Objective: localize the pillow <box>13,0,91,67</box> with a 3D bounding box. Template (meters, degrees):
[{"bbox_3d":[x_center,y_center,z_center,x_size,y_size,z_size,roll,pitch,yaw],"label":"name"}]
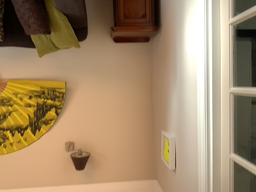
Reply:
[{"bbox_3d":[-0.660,-0.560,1.800,0.560,0.440,0.220,26,-179,34],"label":"pillow"}]

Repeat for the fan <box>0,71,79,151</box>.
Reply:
[{"bbox_3d":[-1.350,0.160,2.130,1.640,0.780,0.120,-2,-176,-7],"label":"fan"}]
